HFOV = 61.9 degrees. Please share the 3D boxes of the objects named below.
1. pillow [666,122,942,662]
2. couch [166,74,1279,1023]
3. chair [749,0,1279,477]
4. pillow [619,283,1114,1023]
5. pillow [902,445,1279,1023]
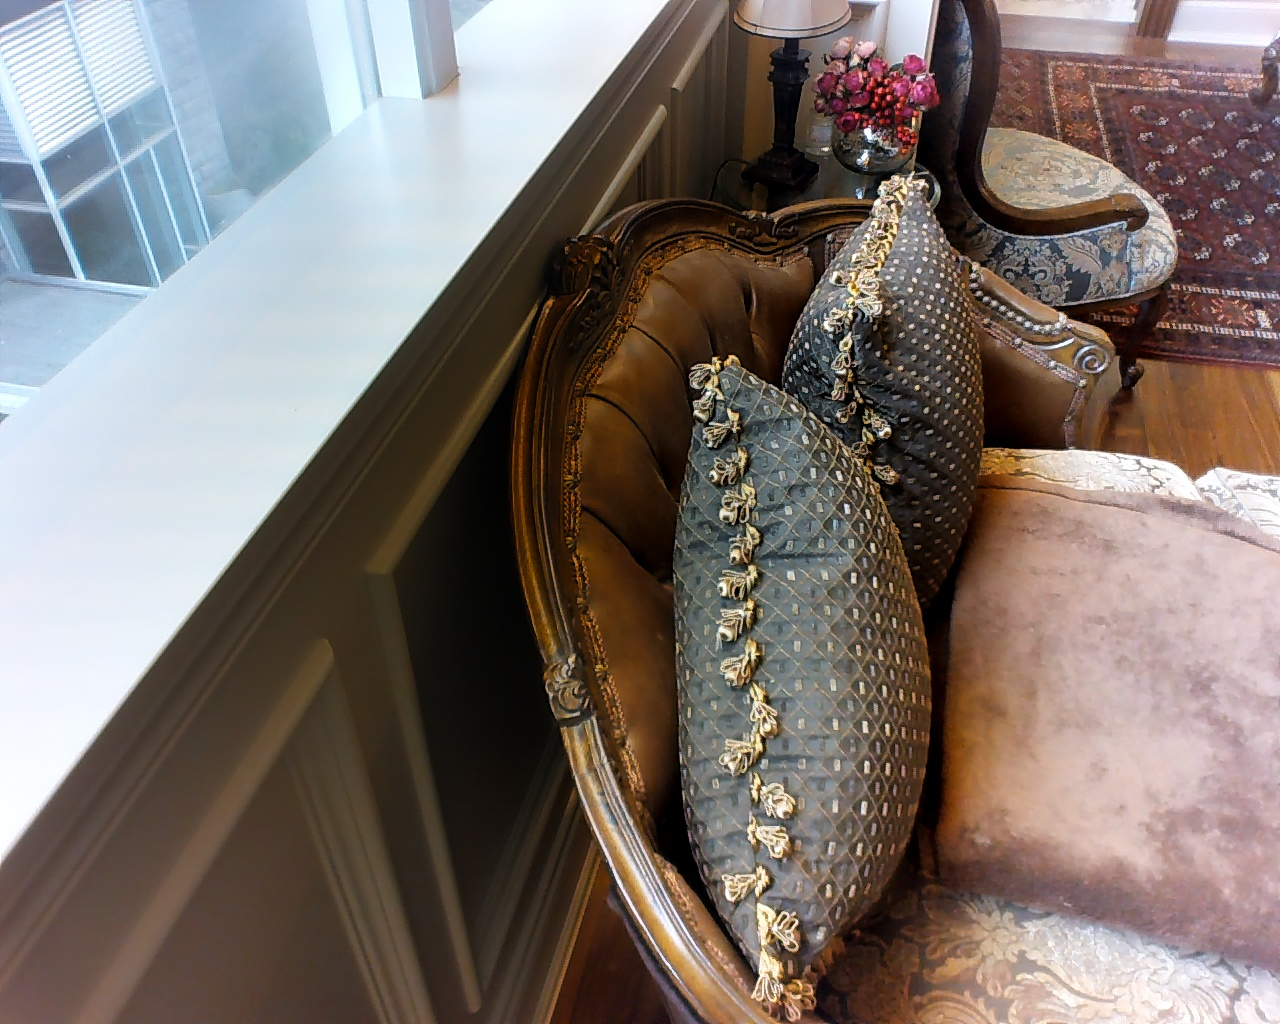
[{"bbox_3d":[0.220,-0.190,1.340,0.220,0.430,0.610,9,33,12],"label":"pillow"},{"bbox_3d":[0.620,0.270,1.180,1.460,0.950,1.240,9,42,12],"label":"couch"},{"bbox_3d":[0.780,-0.820,2.310,0.790,1.120,0.760,-13,43,-13],"label":"chair"},{"bbox_3d":[0.140,0.170,0.940,0.260,0.530,0.530,2,41,3],"label":"pillow"},{"bbox_3d":[0.550,0.200,1.170,0.450,0.140,0.620,9,42,12],"label":"pillow"}]
